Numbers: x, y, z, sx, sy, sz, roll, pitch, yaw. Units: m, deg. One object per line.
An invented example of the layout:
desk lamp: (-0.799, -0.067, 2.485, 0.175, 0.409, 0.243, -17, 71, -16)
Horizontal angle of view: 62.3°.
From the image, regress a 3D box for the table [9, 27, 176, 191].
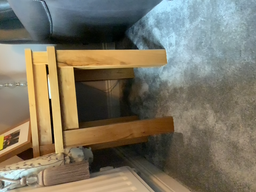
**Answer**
table: (-0.230, 0.030, 1.200, 0.810, 0.600, 0.570, 180, 86, -71)
